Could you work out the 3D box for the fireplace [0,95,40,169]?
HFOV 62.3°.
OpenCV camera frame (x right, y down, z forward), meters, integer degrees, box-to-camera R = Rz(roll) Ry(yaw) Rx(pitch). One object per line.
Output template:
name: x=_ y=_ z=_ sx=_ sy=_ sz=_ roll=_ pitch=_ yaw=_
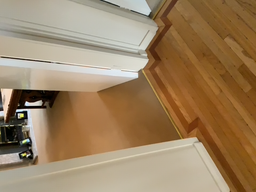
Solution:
fireplace: x=-2.750 y=0.720 z=4.590 sx=0.480 sy=1.220 sz=1.560 roll=-53 pitch=52 yaw=37
